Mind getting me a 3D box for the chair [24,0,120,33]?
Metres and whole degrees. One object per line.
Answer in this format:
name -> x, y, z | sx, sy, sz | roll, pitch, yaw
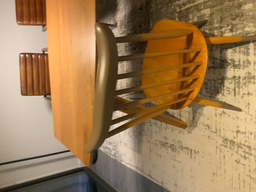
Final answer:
chair -> -0.570, -0.990, 2.140 | 0.560, 0.790, 0.530 | 7, 100, 55
